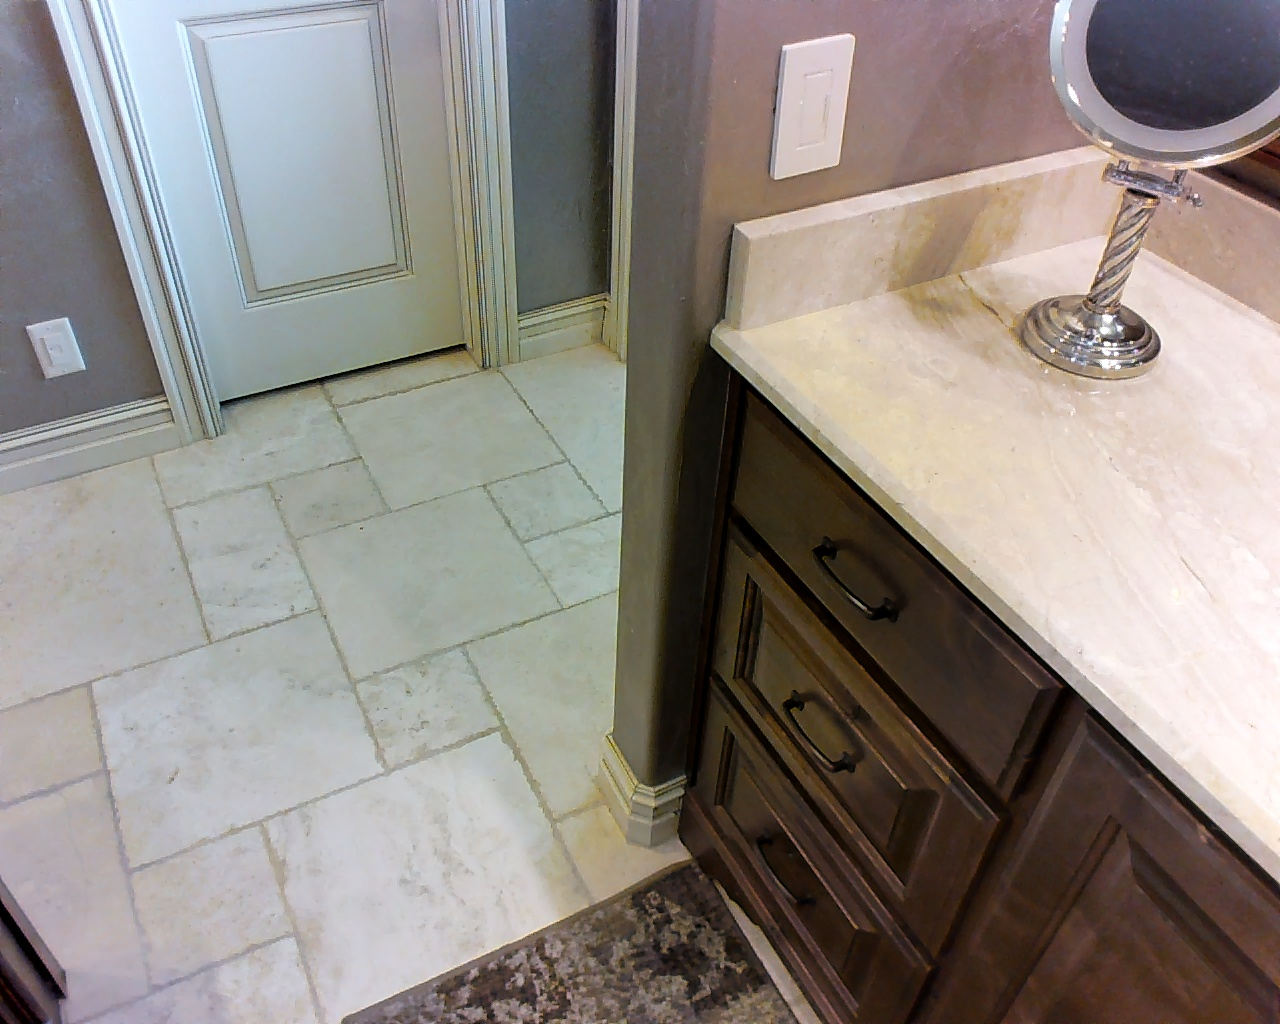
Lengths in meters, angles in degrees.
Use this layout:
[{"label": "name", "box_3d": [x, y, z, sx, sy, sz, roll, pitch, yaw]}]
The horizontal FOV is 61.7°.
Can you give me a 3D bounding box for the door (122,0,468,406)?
[{"label": "door", "box_3d": [-0.630, -1.230, 1.750, 0.580, 2.410, 0.030, -18, 46, -22]}]
